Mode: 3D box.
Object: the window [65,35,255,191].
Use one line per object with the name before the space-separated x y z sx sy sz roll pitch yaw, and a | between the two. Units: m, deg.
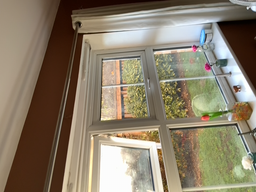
window | 0.210 0.210 1.540 0.260 1.150 1.690 84 -179 -50
